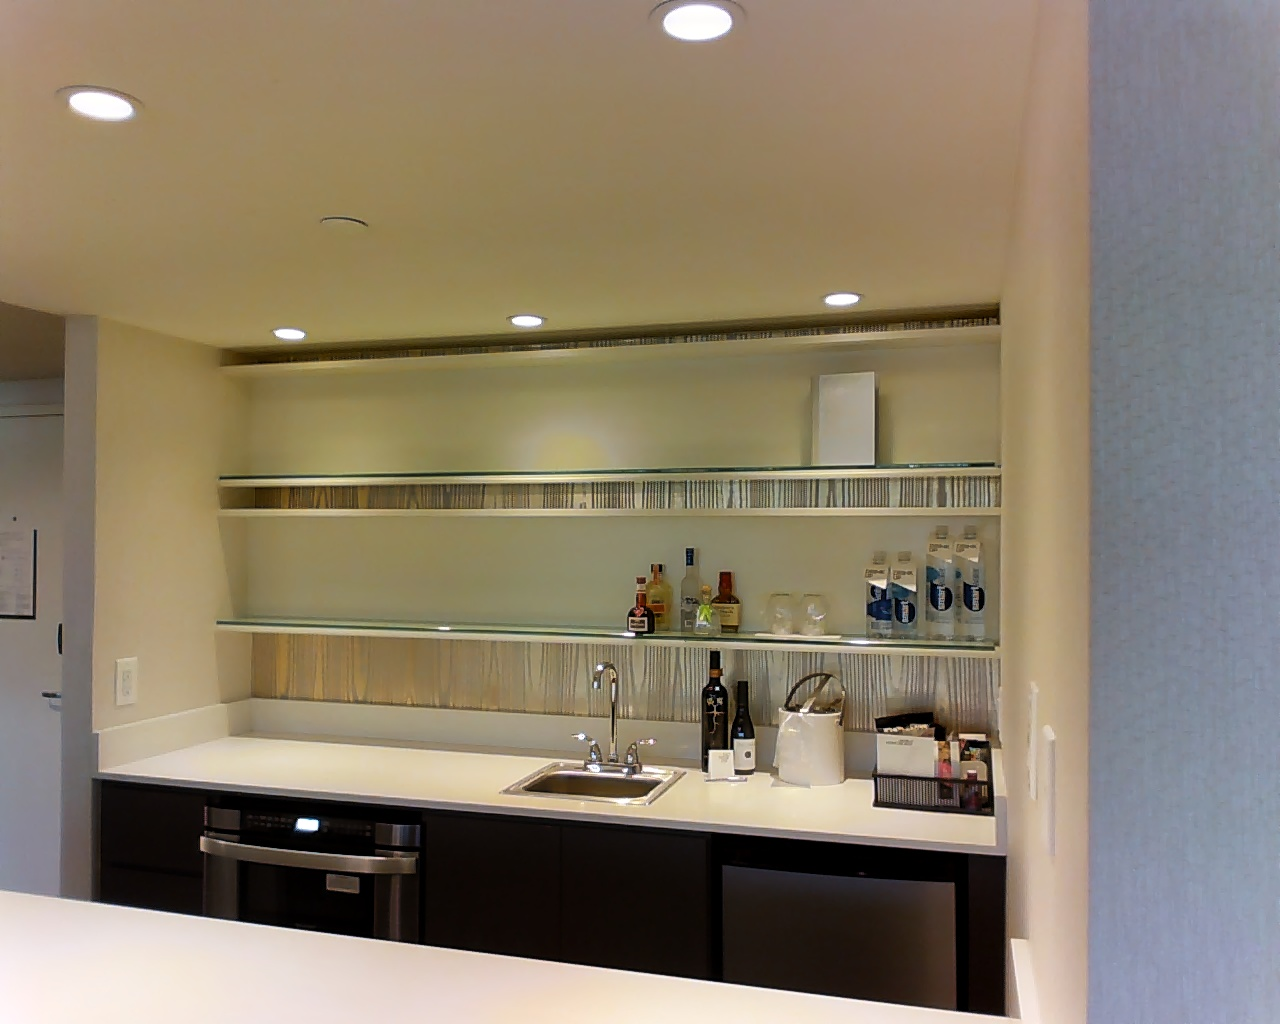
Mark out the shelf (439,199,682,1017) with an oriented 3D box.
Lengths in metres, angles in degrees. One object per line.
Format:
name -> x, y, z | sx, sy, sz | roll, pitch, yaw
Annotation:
shelf -> -0.160, 0.180, 3.100 | 0.240, 2.290, 0.460 | 0, -24, 17

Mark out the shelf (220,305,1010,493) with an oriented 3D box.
shelf -> -0.160, -0.290, 3.110 | 2.320, 0.450, 0.210 | 0, -1, 17

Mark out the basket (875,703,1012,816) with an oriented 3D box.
basket -> 0.750, 0.600, 2.670 | 0.300, 0.170, 0.450 | 0, -1, 15
